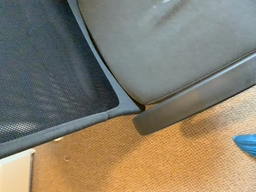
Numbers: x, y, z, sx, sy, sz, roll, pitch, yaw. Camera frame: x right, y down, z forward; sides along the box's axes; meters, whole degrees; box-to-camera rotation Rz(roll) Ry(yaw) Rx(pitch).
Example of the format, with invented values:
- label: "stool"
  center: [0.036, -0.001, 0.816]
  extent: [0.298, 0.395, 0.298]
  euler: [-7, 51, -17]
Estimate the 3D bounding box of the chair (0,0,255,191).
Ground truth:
- label: "chair"
  center: [-0.030, -0.220, 0.480]
  extent: [0.720, 1.250, 0.640]
  euler: [-32, 82, 18]
